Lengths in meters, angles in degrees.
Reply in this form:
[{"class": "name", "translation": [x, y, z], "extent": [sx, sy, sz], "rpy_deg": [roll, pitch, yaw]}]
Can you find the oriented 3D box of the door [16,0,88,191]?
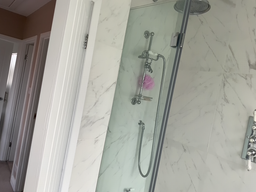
[{"class": "door", "translation": [-0.360, 0.460, 0.890], "extent": [0.060, 1.990, 0.760], "rpy_deg": [10, 2, -12]}]
